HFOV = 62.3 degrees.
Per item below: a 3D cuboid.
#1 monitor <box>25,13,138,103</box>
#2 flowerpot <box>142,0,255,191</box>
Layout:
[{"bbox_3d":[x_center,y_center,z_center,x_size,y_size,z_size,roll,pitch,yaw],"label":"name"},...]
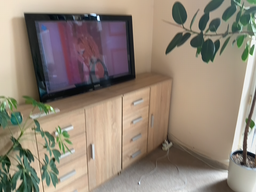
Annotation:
[{"bbox_3d":[-0.300,-0.390,1.900,0.060,0.640,1.090,18,27,41],"label":"monitor"},{"bbox_3d":[0.820,-0.250,1.820,0.580,2.290,1.260,-17,26,-41],"label":"flowerpot"}]
